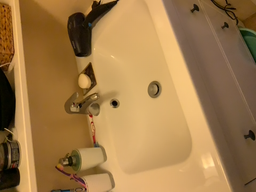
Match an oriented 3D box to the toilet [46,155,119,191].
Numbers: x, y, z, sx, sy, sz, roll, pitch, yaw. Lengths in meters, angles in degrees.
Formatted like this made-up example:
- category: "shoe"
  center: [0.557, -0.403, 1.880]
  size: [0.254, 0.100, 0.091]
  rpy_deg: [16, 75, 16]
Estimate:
- category: "toilet"
  center: [-0.140, 0.300, 0.680]
  size: [0.090, 0.190, 0.170]
  rpy_deg: [-37, 61, 40]
